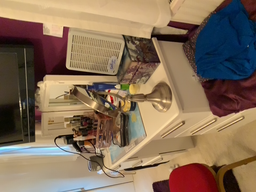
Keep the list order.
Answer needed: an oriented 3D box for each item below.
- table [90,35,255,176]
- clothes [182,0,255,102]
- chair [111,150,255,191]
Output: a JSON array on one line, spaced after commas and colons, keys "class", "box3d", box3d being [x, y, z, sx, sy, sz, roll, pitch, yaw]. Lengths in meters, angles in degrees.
[{"class": "table", "box3d": [0.270, 0.200, 1.590, 1.290, 0.780, 0.430, 127, 135, -54]}, {"class": "clothes", "box3d": [0.380, -0.180, 0.860, 0.290, 0.080, 0.310, 128, 135, -54]}, {"class": "chair", "box3d": [0.410, 0.710, 1.250, 0.460, 0.830, 0.580, 131, 132, -56]}]
